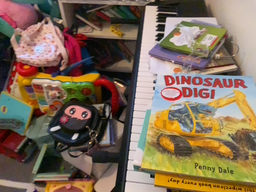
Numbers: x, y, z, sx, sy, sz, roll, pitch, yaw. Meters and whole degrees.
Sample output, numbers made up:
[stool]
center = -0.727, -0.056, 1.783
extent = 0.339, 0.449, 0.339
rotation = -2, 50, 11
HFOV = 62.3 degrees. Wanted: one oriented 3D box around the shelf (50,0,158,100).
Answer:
[shelf]
center = -0.110, -0.370, 1.470
extent = 0.560, 0.750, 0.360
rotation = 3, 47, 4
